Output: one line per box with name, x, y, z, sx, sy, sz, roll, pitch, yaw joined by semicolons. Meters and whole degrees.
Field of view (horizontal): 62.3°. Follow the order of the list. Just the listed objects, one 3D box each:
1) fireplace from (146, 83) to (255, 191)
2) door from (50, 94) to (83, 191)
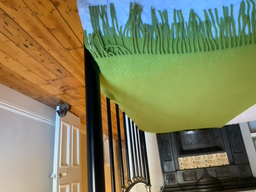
fireplace;0.920;0.560;2.760;1.200;1.240;0.390;-8;161;7
door;-0.810;0.950;2.880;0.150;1.820;0.720;-8;161;5
